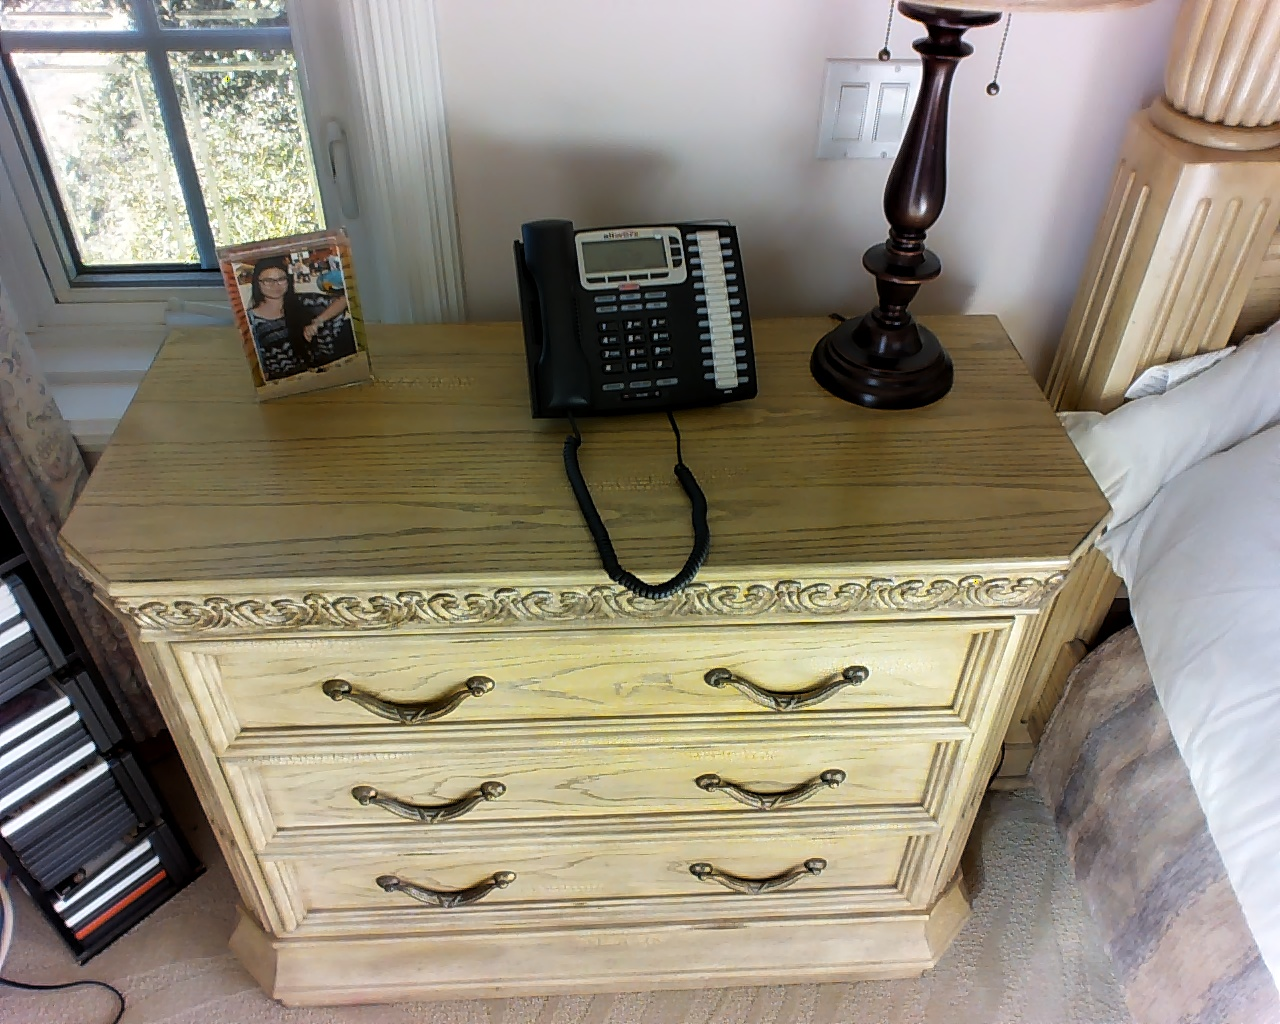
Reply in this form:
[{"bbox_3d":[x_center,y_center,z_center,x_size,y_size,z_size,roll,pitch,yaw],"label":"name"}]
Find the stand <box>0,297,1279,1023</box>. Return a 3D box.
[{"bbox_3d":[-0.010,0.210,1.360,1.130,0.780,0.530,0,41,-2],"label":"stand"}]
